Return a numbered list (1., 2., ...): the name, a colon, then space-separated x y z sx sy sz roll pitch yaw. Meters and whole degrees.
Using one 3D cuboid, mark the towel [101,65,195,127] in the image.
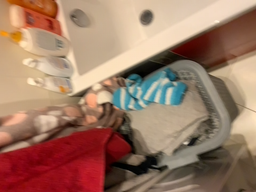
1. towel: 0.060 0.010 0.730 0.280 0.110 0.130 -18 81 32
